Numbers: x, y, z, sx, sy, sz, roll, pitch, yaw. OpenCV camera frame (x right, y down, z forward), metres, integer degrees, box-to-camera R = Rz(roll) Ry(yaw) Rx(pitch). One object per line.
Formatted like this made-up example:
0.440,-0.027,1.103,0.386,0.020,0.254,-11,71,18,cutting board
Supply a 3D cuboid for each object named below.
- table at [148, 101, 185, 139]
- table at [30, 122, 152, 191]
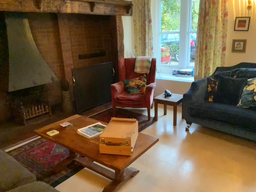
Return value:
0.600,0.350,3.310,0.420,0.400,0.400,11,22,37,table
-0.360,0.710,2.030,1.010,0.520,0.590,11,22,38,table
